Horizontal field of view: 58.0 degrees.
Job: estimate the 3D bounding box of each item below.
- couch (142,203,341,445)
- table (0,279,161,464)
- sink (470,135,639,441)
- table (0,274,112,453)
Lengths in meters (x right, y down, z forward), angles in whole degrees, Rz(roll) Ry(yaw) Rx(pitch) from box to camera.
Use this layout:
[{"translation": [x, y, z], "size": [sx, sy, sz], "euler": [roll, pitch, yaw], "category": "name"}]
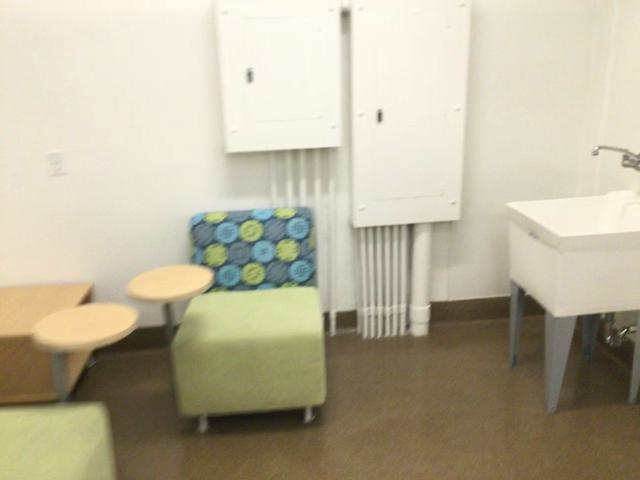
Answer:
[{"translation": [-0.300, 0.320, 2.610], "size": [0.700, 0.780, 0.790], "euler": [-3, 16, -2], "category": "couch"}, {"translation": [-0.790, 0.420, 1.940], "size": [0.420, 0.440, 0.350], "euler": [-6, 17, -9], "category": "table"}, {"translation": [1.100, 0.150, 2.440], "size": [0.700, 1.070, 0.670], "euler": [-4, 16, -4], "category": "sink"}, {"translation": [-1.280, 0.530, 2.610], "size": [0.480, 0.550, 0.580], "euler": [-6, 17, -9], "category": "table"}]
